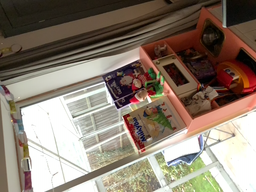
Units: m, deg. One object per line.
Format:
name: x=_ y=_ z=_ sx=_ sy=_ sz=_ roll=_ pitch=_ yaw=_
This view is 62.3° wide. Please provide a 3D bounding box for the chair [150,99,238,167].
chair: x=0.890 y=0.540 z=3.010 sx=0.530 sy=0.890 sz=0.590 roll=110 pitch=139 yaw=-69
